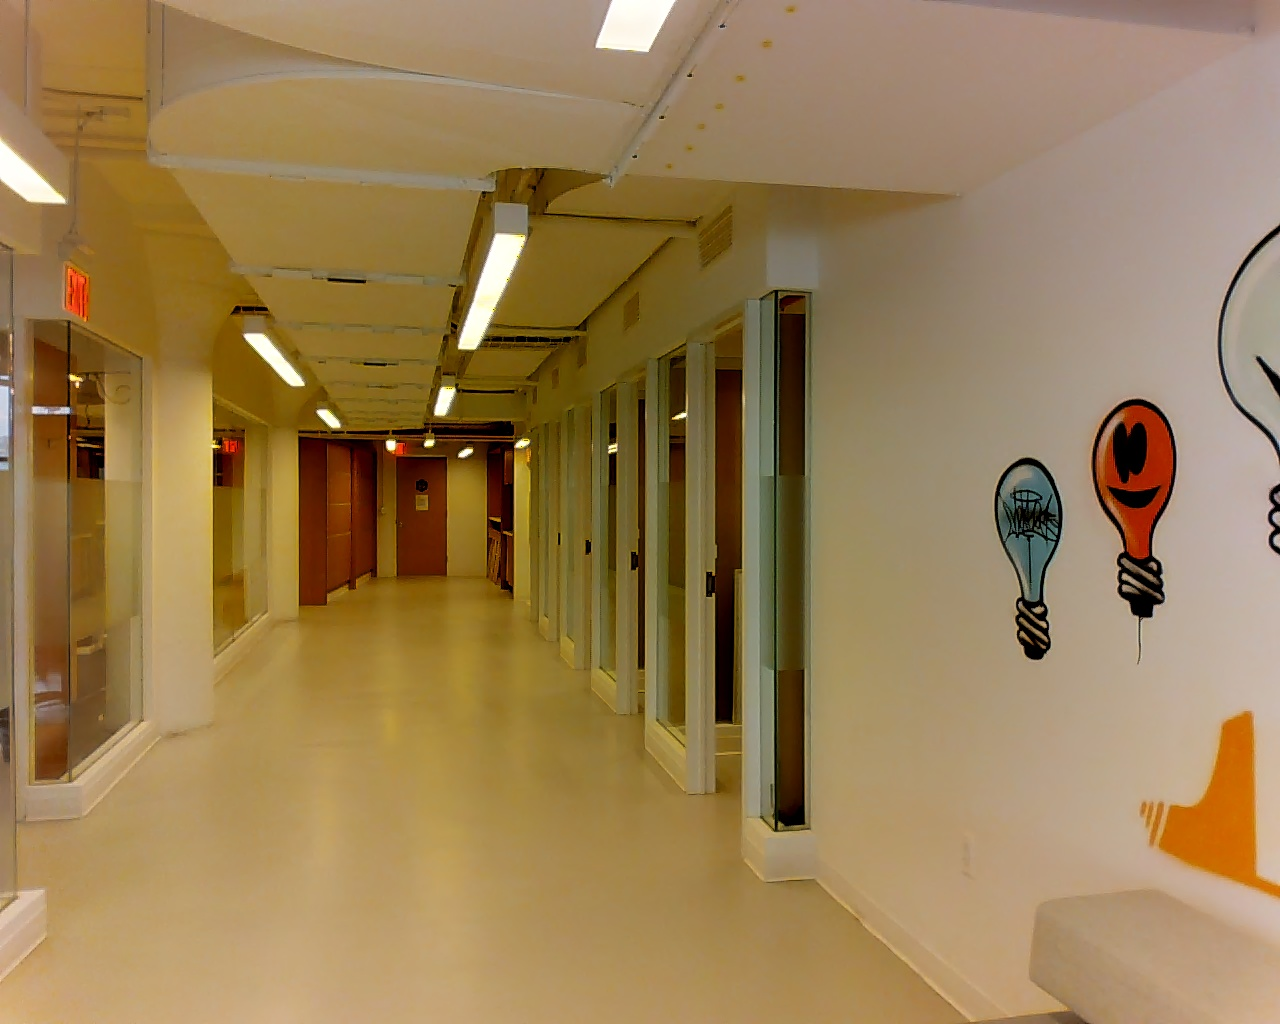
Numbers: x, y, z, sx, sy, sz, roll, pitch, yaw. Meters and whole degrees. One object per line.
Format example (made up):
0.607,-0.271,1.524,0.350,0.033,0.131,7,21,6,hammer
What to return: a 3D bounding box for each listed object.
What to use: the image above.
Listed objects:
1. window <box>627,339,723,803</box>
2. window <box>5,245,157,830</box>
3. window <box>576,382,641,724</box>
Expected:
0.170,0.290,5.740,0.270,2.271,0.960,0,0,-13,window
-2.809,0.110,5.500,0.280,2.531,1.700,0,0,-13,window
-0.240,0.270,7.630,0.230,2.240,1.190,0,0,-13,window
